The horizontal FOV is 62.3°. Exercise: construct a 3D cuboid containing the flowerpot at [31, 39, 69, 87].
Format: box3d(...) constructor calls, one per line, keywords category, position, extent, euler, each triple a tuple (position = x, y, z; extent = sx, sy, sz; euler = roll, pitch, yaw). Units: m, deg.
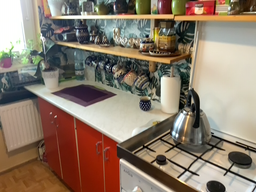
box3d(category="flowerpot", position=(-0.680, -0.300, 1.870), extent=(0.220, 0.360, 0.210), euler=(-15, 26, -38))
